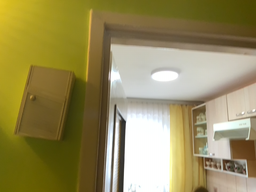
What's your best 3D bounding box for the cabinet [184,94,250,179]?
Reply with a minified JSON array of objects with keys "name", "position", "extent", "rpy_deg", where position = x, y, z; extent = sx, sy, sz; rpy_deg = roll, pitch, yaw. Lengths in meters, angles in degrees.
[{"name":"cabinet","position":[1.120,0.550,2.870],"extent":[0.290,0.920,1.030],"rpy_deg":[4,-13,-8]}]
